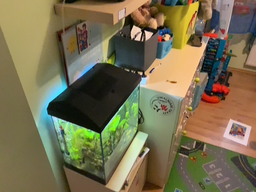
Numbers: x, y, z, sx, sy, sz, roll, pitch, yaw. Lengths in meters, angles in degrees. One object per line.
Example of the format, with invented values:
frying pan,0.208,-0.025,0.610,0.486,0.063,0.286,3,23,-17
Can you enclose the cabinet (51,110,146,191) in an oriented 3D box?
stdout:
cabinet,-0.150,0.500,1.400,0.370,0.580,0.450,16,40,19

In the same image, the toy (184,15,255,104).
toy,1.110,-0.490,2.550,0.520,0.640,0.920,18,41,21
